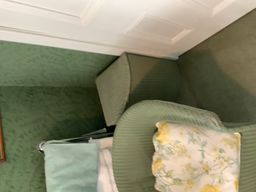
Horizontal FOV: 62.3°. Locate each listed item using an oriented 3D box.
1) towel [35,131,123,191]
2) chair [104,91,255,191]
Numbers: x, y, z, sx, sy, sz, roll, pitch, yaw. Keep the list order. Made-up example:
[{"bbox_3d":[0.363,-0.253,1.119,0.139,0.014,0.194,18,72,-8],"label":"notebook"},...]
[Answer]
[{"bbox_3d":[-0.260,0.520,1.220,0.180,0.400,0.550,-31,69,45],"label":"towel"},{"bbox_3d":[0.340,0.310,1.160,0.640,0.660,0.600,11,100,48],"label":"chair"}]
